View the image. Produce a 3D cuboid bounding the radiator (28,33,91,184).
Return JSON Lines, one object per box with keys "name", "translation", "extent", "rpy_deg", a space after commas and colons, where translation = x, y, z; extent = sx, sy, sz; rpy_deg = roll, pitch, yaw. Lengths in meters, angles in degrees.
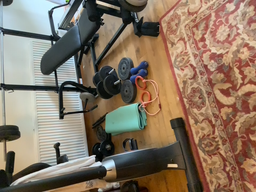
{"name": "radiator", "translation": [-0.860, 0.090, 2.620], "extent": [0.140, 0.600, 1.750], "rpy_deg": [-28, 67, 52]}
